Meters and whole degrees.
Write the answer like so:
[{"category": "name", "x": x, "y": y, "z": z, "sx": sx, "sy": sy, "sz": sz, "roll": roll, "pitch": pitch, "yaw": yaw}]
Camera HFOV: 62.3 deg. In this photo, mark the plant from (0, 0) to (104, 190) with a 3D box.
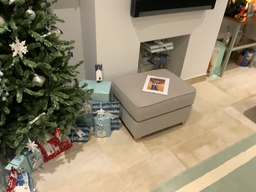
[{"category": "plant", "x": -0.760, "y": -0.280, "z": 1.460, "sx": 0.930, "sy": 1.630, "sz": 0.780, "roll": -17, "pitch": 42, "yaw": -26}]
